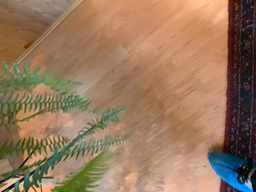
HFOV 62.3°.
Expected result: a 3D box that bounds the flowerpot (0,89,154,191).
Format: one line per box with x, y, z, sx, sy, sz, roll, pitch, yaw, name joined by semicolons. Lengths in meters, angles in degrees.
-0.340;0.490;0.530;0.690;1.240;0.900;-7;92;12;flowerpot
